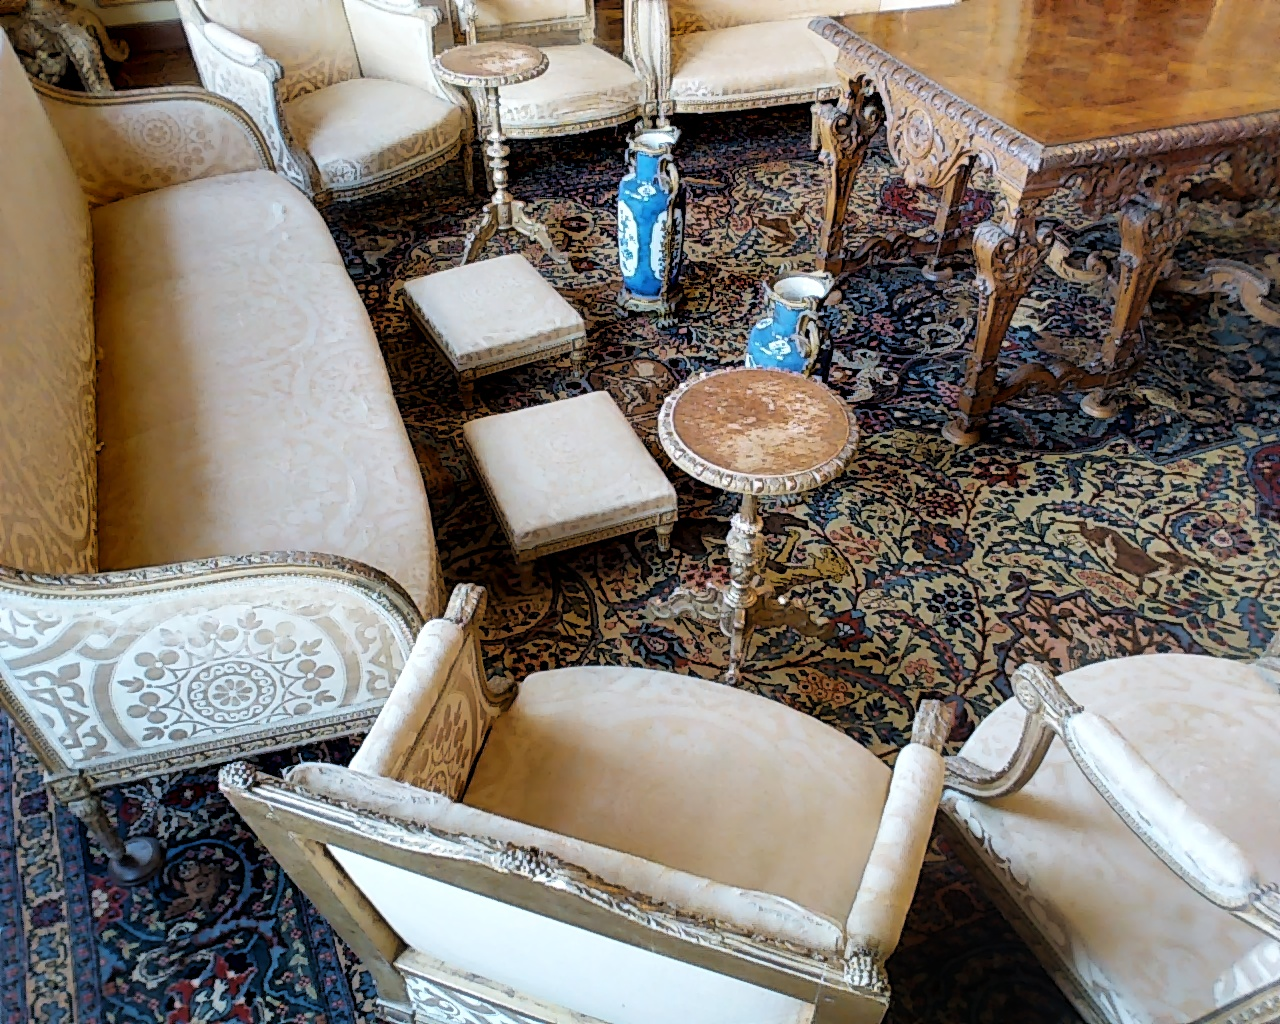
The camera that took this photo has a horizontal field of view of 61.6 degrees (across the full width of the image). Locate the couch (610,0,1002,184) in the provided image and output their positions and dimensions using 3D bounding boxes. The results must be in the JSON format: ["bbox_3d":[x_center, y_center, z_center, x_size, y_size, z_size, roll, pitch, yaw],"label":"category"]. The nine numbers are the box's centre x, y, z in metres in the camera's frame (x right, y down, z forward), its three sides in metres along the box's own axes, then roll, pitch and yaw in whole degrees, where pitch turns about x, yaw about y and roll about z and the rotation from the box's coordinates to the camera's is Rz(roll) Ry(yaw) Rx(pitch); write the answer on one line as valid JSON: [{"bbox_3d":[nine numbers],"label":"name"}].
[{"bbox_3d":[0.630,-1.961,4.160,1.350,0.950,0.660,-15,43,-16],"label":"couch"}]

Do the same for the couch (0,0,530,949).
[{"bbox_3d":[-0.980,-0.400,2.340,0.810,1.010,2.150,-15,43,-16],"label":"couch"}]
